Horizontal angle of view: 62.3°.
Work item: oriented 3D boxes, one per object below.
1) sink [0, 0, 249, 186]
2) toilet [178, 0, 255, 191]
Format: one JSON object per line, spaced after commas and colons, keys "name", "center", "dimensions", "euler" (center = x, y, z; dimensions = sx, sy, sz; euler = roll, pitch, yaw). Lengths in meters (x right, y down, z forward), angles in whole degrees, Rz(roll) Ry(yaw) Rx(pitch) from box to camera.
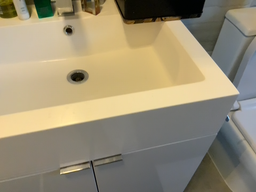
{"name": "sink", "center": [-0.110, -0.070, 0.550], "dimensions": [0.580, 0.160, 0.450], "euler": [-10, 49, -11]}
{"name": "toilet", "center": [0.620, 0.110, 0.920], "dimensions": [0.420, 0.850, 0.610], "euler": [-10, 49, -11]}
